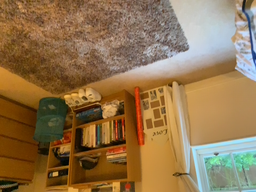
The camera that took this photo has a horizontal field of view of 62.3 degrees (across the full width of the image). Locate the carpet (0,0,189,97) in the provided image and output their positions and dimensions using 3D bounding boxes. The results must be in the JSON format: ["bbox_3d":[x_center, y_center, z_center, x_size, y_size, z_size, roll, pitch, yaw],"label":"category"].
[{"bbox_3d":[-0.470,-0.490,1.880,1.720,0.120,1.280,-15,151,23],"label":"carpet"}]
